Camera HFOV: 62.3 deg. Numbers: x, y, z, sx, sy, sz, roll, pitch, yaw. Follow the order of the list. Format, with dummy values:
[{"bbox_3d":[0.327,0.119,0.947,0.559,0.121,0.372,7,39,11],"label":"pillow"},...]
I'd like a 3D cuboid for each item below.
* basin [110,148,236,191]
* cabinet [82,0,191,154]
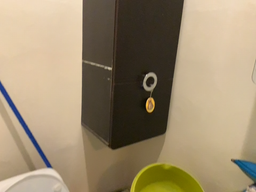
[{"bbox_3d":[0.200,0.480,1.010,0.420,0.210,0.390,-8,20,-37],"label":"basin"},{"bbox_3d":[0.050,-0.480,1.070,0.430,1.450,0.320,-7,20,-36],"label":"cabinet"}]
